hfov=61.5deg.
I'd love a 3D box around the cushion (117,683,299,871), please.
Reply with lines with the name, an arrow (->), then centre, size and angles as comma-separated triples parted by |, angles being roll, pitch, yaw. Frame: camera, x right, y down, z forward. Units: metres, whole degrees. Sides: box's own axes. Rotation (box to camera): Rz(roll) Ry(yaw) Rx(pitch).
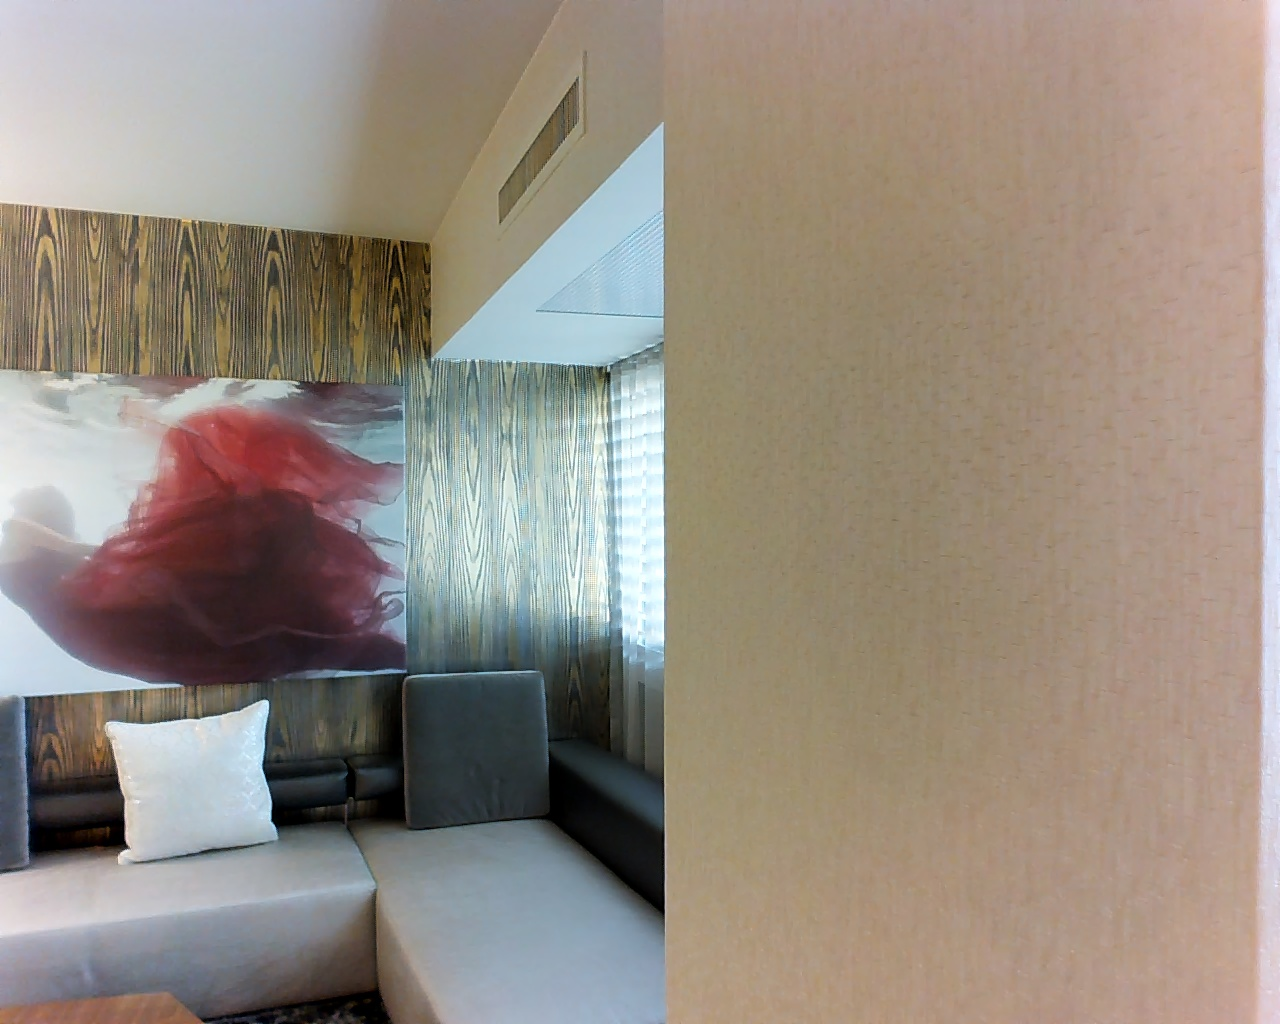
cushion -> -1.440, 0.860, 3.600 | 0.530, 0.470, 0.430 | -1, 1, -23

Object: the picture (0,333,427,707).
picture -> -1.630, 0.020, 3.740 | 1.740, 1.210, 0.130 | -1, 1, -23

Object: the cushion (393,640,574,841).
cushion -> -0.590, 0.830, 4.010 | 0.580, 0.600, 0.350 | -1, 9, -23
